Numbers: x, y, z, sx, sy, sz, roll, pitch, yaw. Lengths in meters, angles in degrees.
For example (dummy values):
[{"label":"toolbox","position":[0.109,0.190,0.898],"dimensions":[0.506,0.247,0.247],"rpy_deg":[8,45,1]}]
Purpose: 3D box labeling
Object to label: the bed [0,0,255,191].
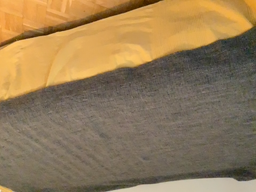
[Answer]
[{"label":"bed","position":[-0.190,0.120,1.350],"dimensions":[1.860,0.620,1.010],"rpy_deg":[-14,143,17]}]
